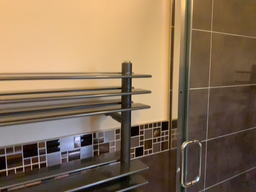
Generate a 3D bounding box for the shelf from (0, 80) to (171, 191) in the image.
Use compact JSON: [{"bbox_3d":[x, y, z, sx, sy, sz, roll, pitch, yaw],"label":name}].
[{"bbox_3d":[-0.220,0.660,0.690,0.660,1.390,0.270,-4,9,-31],"label":"shelf"}]
